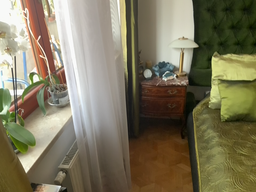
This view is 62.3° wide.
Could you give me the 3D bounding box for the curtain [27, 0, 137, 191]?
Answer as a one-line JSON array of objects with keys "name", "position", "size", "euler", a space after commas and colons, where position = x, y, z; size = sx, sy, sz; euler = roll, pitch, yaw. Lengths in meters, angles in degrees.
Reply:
[{"name": "curtain", "position": [-0.180, -0.270, 1.230], "size": [0.280, 2.590, 0.660], "euler": [4, 27, 13]}]
